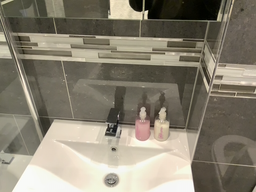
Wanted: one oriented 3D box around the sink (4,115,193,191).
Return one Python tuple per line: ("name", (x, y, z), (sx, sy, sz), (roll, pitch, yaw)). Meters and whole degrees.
("sink", (-0.080, 0.290, 0.880), (0.630, 0.140, 0.400), (4, 36, 5))
